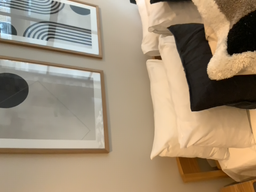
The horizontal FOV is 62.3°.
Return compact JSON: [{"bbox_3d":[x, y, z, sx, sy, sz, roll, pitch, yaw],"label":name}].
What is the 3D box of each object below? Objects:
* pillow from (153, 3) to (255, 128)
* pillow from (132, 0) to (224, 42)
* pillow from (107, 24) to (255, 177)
[{"bbox_3d":[0.420,-0.150,0.960,0.220,0.400,0.480,-58,46,49],"label":"pillow"},{"bbox_3d":[0.270,-0.720,1.510,0.720,0.420,0.200,62,145,25],"label":"pillow"},{"bbox_3d":[0.290,-0.030,1.140,0.680,0.510,0.260,61,144,19],"label":"pillow"}]
